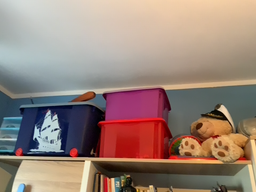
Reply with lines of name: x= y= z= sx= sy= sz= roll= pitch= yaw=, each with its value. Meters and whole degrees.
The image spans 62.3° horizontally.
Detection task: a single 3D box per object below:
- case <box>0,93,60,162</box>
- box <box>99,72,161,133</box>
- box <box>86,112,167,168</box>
case: x=-0.830 y=0.250 z=1.610 sx=0.460 sy=0.440 sz=0.250 roll=-5 pitch=-30 yaw=15
box: x=0.040 y=0.060 z=1.420 sx=0.340 sy=0.270 sz=0.350 roll=-2 pitch=-29 yaw=11
box: x=0.020 y=0.280 z=1.300 sx=0.420 sy=0.240 sz=0.340 roll=-2 pitch=-29 yaw=10
